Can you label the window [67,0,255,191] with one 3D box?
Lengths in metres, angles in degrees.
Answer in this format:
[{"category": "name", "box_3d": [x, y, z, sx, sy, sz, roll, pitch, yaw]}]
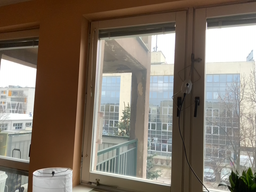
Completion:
[{"category": "window", "box_3d": [0.450, 0.020, 1.530, 1.860, 1.420, 0.150, 2, -4, 18]}]
